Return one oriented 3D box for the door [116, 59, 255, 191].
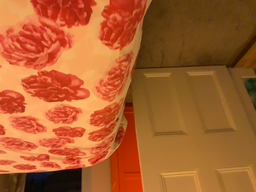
[{"bbox_3d":[0.380,0.550,1.250,0.780,1.890,0.130,-2,149,-7],"label":"door"}]
